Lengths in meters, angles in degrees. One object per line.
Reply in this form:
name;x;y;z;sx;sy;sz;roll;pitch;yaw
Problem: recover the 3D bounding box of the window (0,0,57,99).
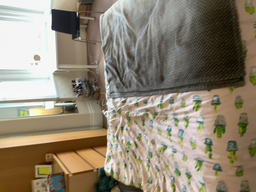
window;-2.290;-0.950;3.540;0.690;1.950;2.000;1;93;61
